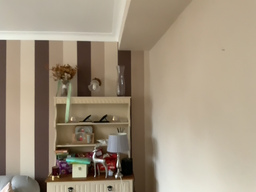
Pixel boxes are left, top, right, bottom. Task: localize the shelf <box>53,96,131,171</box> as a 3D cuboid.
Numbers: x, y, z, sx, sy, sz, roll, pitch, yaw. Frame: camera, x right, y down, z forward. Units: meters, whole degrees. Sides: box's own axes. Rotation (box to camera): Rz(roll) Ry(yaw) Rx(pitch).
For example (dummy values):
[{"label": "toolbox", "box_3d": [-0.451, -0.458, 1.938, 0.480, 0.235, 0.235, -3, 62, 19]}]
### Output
[{"label": "shelf", "box_3d": [-0.440, 0.450, 2.680, 0.930, 0.900, 0.190, 0, -1, -4]}]
